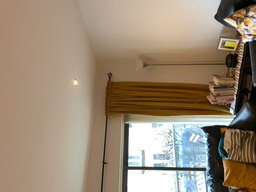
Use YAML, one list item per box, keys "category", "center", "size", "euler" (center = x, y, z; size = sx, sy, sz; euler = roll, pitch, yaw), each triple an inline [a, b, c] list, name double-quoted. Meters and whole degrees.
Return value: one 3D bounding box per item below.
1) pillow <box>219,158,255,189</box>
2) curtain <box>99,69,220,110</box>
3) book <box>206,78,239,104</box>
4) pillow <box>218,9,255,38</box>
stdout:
- category: "pillow"
  center: [1.240, 0.850, 2.320]
  size: [0.200, 0.350, 0.270]
  euler: [105, 168, -57]
- category: "curtain"
  center: [0.480, -0.120, 3.430]
  size: [0.210, 1.800, 0.600]
  euler: [85, -172, -61]
- category: "book"
  center: [1.340, -0.080, 3.030]
  size: [0.220, 0.340, 0.320]
  euler: [-81, -9, -71]
- category: "pillow"
  center: [1.170, -0.710, 2.130]
  size: [0.480, 0.340, 0.160]
  euler: [-58, -32, -85]
